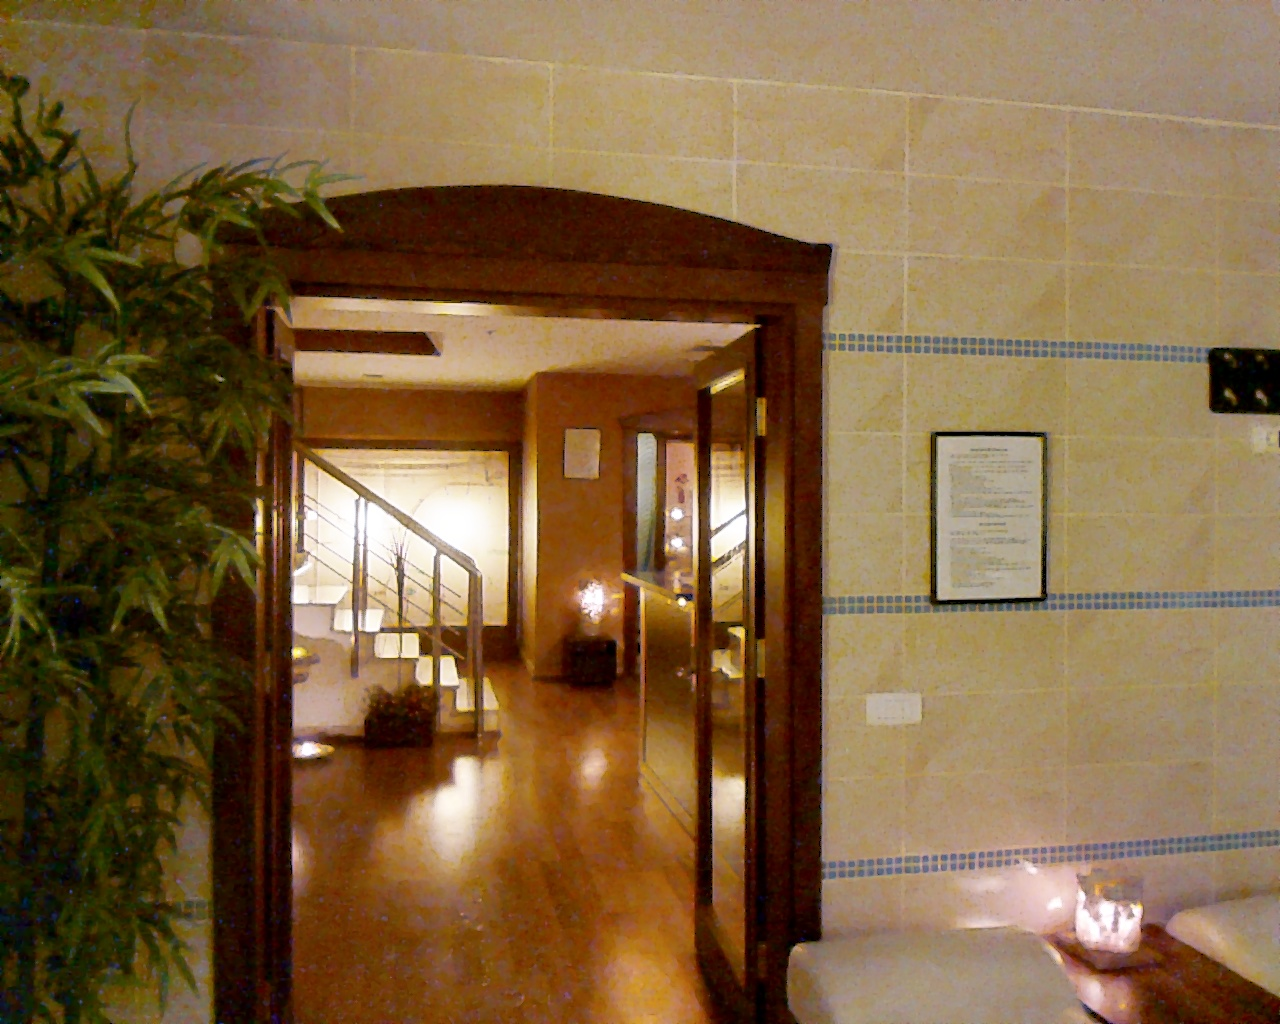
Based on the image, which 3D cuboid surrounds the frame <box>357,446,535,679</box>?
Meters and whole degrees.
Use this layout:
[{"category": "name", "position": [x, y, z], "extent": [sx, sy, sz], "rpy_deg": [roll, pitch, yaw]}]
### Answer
[{"category": "frame", "position": [-1.860, 0.480, 10.390], "extent": [1.680, 2.200, 0.150], "rpy_deg": [0, 0, -10]}]
